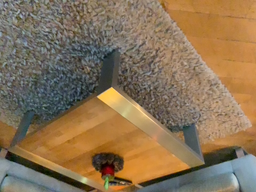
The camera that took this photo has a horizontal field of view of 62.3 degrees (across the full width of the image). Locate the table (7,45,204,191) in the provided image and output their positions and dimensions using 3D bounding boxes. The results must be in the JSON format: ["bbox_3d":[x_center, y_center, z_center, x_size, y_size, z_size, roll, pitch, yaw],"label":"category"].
[{"bbox_3d":[-0.140,0.350,1.840,1.070,0.410,1.170,-29,130,28],"label":"table"}]
